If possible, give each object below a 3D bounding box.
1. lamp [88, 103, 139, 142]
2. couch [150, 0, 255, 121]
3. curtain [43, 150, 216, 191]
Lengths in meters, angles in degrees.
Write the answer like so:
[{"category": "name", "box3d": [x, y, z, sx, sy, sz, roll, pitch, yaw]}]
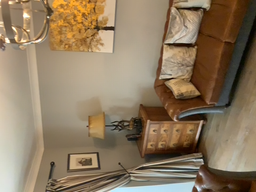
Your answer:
[{"category": "lamp", "box3d": [-0.240, 0.380, 3.150, 0.410, 0.690, 0.400, -107, 21, -55]}, {"category": "couch", "box3d": [0.860, -0.720, 2.400, 0.860, 0.750, 1.820, -111, 25, -60]}, {"category": "curtain", "box3d": [0.030, 1.090, 2.940, 0.670, 2.190, 0.180, -113, 26, -62]}]
